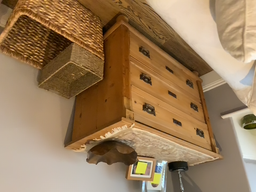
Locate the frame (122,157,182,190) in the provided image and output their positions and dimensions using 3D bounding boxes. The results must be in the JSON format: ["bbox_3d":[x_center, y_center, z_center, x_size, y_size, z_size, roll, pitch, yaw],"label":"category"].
[{"bbox_3d":[0.190,0.610,1.630,0.440,0.170,0.200,22,142,-35],"label":"frame"}]
